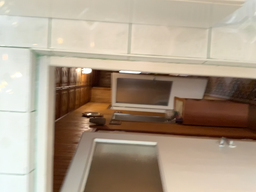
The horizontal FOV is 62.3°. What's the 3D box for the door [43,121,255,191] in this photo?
[{"bbox_3d":[0.720,0.420,1.190,0.860,2.170,0.070,-92,5,-72],"label":"door"}]
